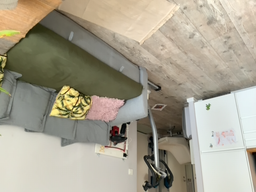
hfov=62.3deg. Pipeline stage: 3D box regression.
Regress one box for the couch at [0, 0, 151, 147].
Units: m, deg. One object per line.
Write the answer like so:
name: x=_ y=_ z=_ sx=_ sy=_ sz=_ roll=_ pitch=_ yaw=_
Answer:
couch: x=-0.860 y=-0.190 z=1.990 sx=0.940 sy=0.900 sz=2.340 roll=-19 pitch=150 yaw=38
